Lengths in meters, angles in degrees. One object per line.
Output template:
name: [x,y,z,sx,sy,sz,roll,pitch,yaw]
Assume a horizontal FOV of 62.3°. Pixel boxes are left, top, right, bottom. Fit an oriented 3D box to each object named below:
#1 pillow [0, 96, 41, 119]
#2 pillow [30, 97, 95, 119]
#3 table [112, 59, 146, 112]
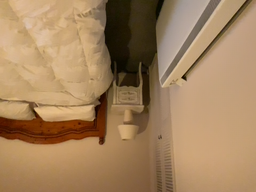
pillow: [-1.480,0.140,2.540,0.730,0.200,0.290,2,162,-6]
pillow: [-0.760,0.150,2.560,0.690,0.180,0.290,1,162,-5]
table: [0.000,-0.130,2.900,0.430,0.630,0.370,1,162,-4]
